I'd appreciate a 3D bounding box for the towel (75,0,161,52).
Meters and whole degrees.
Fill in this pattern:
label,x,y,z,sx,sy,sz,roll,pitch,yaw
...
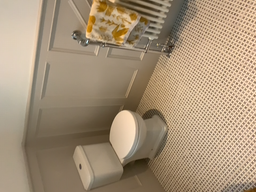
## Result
label,x,y,z,sx,sy,sz,roll,pitch,yaw
towel,-0.070,-0.520,1.560,0.260,0.530,0.250,46,126,44

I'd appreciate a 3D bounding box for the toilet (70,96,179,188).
label,x,y,z,sx,sy,sz,roll,pitch,yaw
toilet,-0.050,0.400,2.040,0.430,0.770,0.660,51,129,41
